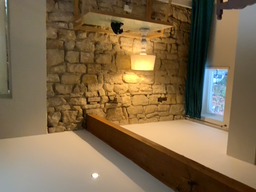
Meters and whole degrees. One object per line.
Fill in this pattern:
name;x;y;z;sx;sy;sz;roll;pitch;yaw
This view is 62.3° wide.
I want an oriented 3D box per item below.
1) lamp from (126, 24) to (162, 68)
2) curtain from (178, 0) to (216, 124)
lamp;0.280;-0.860;3.790;0.440;0.700;0.450;-3;-171;-30
curtain;1.430;-0.700;4.480;0.280;2.480;0.520;-4;-170;-34
